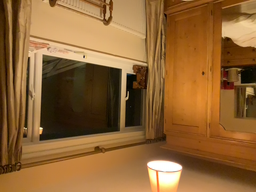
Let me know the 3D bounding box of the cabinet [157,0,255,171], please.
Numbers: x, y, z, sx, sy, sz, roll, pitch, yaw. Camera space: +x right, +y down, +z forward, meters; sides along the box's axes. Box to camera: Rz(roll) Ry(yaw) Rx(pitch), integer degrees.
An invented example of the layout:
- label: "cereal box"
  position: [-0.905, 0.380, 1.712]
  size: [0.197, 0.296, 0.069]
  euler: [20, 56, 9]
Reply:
- label: "cabinet"
  position: [1.220, -0.380, 2.260]
  size: [1.850, 2.150, 0.430]
  euler: [1, 179, 43]
